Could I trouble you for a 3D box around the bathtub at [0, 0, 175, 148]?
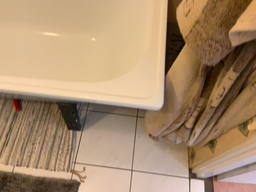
[{"bbox_3d":[-0.680,-0.250,1.050,1.690,0.560,0.680,7,63,0],"label":"bathtub"}]
